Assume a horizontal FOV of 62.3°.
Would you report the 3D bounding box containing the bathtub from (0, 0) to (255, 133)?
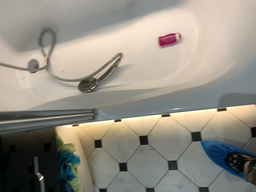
[{"bbox_3d":[-0.150,-0.270,0.970,1.360,0.580,0.750,-8,85,16],"label":"bathtub"}]
